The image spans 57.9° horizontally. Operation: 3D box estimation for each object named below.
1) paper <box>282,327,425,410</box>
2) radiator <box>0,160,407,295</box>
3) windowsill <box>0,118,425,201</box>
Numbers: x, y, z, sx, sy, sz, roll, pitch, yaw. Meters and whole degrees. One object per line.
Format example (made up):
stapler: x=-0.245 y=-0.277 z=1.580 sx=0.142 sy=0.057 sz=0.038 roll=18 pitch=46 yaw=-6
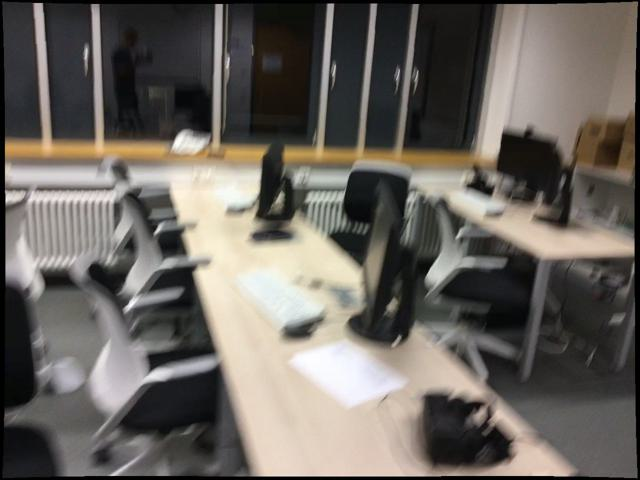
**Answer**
paper: x=0.090 y=0.360 z=1.690 sx=0.250 sy=0.020 sz=0.350 roll=-13 pitch=23 yaw=-35
radiator: x=-1.289 y=-0.100 z=3.960 sx=3.846 sy=0.661 sz=0.460 roll=-5 pitch=19 yaw=-15
windowsill: x=-1.618 y=-0.541 z=3.830 sx=4.646 sy=0.330 sz=0.820 roll=-5 pitch=19 yaw=-15
